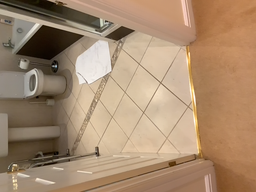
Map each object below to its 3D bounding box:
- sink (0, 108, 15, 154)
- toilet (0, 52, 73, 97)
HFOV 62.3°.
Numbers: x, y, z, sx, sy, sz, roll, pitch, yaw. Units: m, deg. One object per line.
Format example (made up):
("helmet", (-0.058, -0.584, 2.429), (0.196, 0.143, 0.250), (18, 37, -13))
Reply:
("sink", (-1.570, 0.430, 2.660), (0.420, 0.170, 0.530), (-11, 80, 47))
("toilet", (-1.300, -0.240, 2.880), (0.650, 0.860, 0.390), (-11, 80, 47))
